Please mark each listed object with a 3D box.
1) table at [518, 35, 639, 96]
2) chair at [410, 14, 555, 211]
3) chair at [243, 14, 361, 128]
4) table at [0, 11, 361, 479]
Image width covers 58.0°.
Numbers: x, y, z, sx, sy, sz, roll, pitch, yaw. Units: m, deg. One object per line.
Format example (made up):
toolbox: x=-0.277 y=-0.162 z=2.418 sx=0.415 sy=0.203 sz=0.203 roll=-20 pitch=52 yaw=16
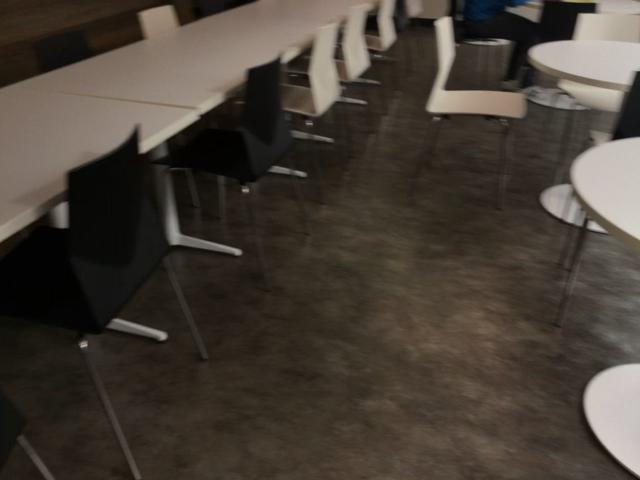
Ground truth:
table: x=1.350 y=-0.750 z=2.470 sx=0.910 sy=0.100 sz=0.750 roll=10 pitch=29 yaw=18
chair: x=0.820 y=-0.670 z=2.920 sx=0.550 sy=0.800 sz=0.610 roll=10 pitch=29 yaw=18
chair: x=-0.070 y=-0.860 z=2.880 sx=0.410 sy=0.430 sz=0.510 roll=10 pitch=29 yaw=18
table: x=-1.030 y=0.140 z=1.500 sx=1.020 sy=0.900 sz=4.430 roll=10 pitch=29 yaw=18
